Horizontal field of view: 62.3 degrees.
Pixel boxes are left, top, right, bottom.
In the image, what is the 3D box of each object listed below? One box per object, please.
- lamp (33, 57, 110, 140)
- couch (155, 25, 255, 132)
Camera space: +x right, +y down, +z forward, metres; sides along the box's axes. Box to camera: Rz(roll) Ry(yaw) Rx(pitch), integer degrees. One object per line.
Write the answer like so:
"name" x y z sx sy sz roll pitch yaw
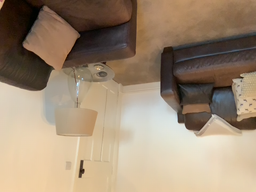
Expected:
"lamp" -0.520 0.060 2.090 0.470 0.680 0.450 -5 160 23
"couch" 1.370 -0.110 2.370 1.890 0.870 1.020 -5 161 23
